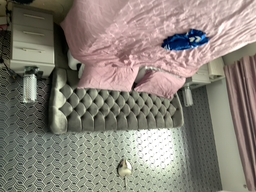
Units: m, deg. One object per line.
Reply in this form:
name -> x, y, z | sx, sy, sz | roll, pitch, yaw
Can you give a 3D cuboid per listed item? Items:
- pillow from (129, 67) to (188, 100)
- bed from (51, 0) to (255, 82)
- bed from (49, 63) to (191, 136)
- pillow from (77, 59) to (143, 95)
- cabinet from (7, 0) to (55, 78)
pillow -> 0.410, -0.150, 2.860 | 0.660, 0.300, 0.400 | 3, 166, -32
bed -> 0.440, -0.760, 2.010 | 1.830, 0.530, 2.310 | 2, 167, -30
bed -> -0.030, 0.080, 2.770 | 1.850, 0.760, 0.320 | 2, 166, -28
pillow -> -0.210, -0.200, 2.490 | 0.660, 0.260, 0.380 | 3, 166, -31
cabinet -> -1.010, -0.560, 2.200 | 0.400, 0.630, 0.430 | 2, 167, -28
